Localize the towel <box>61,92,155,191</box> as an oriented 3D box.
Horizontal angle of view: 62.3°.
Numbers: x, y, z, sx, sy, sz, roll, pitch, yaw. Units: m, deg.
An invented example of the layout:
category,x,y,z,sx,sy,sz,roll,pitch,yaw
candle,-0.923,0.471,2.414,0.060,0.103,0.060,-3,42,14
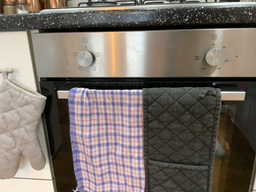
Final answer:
category,x,y,z,sx,sy,sz,roll,pitch,yaw
towel,-0.040,0.150,0.550,0.210,0.310,0.070,0,18,4
